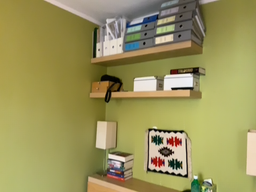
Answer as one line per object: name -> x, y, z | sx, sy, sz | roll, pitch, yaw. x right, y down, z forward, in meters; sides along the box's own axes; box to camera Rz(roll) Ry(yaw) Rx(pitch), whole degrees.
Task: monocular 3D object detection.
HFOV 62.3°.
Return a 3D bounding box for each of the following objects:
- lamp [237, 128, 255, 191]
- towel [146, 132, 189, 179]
lamp -> 0.880, 0.550, 1.440 | 0.220, 0.630, 0.160 | 0, -4, 37
towel -> 0.350, 0.530, 1.930 | 0.380, 0.360, 0.050 | 1, -4, 30
